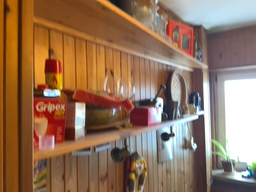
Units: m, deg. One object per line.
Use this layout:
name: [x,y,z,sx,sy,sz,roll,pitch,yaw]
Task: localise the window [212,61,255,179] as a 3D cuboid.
window: [1.350,0.250,2.260,0.820,1.230,0.110,-2,-2,36]
